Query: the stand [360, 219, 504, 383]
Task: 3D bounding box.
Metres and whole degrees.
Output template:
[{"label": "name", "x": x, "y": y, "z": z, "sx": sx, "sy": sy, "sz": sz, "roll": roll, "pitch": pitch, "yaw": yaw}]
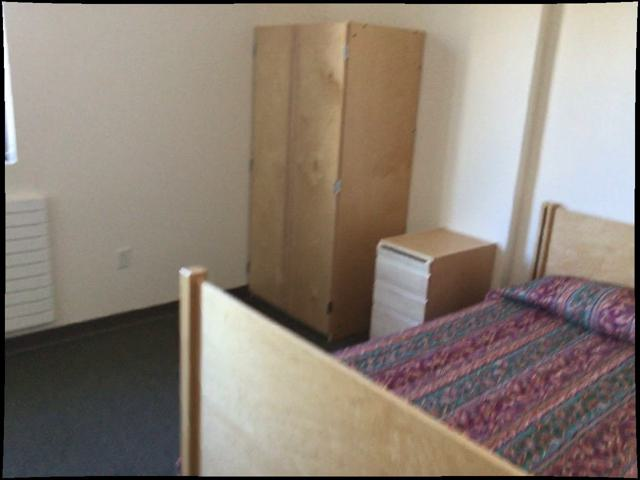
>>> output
[{"label": "stand", "x": 0.619, "y": 0.310, "z": 3.250, "sx": 0.580, "sy": 0.701, "sz": 0.440, "roll": -10, "pitch": 23, "yaw": -38}]
